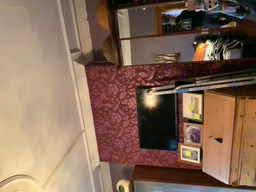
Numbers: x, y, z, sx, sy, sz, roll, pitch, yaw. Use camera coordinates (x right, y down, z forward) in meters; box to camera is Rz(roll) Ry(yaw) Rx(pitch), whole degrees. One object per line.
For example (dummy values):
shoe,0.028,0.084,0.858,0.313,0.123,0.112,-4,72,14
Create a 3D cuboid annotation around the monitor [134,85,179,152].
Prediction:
monitor,0.480,0.390,3.510,0.060,0.690,1.160,-55,-37,-67
